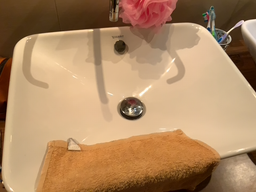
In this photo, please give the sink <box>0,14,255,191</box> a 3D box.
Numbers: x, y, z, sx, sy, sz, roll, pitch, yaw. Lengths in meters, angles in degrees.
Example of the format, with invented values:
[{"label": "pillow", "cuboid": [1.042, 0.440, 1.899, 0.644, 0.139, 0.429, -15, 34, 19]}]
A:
[{"label": "sink", "cuboid": [0.000, -0.010, 0.570, 0.570, 0.150, 0.450, -7, 55, -12]}]
